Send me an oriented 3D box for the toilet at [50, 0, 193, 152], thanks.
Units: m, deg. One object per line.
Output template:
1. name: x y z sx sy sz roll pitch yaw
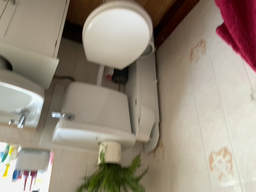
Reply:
1. toilet: -0.090 -0.220 1.270 0.450 0.890 0.700 15 147 -23
